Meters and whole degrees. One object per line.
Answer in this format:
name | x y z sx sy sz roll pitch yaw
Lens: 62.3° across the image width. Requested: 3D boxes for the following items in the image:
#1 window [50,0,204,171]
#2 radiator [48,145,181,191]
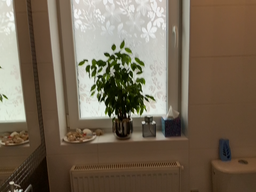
window | 0.000 -0.350 1.430 0.930 1.720 0.210 -1 10 3
radiator | -0.070 0.720 1.430 0.820 0.740 0.130 -2 10 -1
